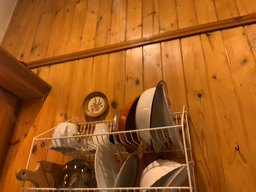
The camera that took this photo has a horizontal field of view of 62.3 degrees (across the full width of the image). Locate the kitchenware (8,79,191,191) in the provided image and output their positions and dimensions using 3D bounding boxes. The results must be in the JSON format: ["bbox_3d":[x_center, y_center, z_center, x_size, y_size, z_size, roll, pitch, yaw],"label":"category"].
[{"bbox_3d":[-0.080,0.200,0.720,0.530,0.390,0.210,-7,-29,16],"label":"kitchenware"}]
